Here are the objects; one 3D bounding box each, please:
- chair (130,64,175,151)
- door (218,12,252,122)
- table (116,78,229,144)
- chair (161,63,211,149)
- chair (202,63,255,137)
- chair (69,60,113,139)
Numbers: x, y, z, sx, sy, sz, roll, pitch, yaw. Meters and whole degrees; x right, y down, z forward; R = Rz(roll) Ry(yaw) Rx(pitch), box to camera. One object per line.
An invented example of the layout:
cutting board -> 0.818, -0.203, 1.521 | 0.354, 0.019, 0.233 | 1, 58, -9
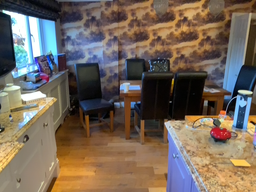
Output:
chair -> 0.320, 0.130, 3.180 | 0.470, 1.130, 0.690 | -1, 16, -7
door -> 2.130, -0.580, 4.330 | 0.080, 2.030, 0.880 | 3, 16, 8
table -> 0.610, 0.200, 3.530 | 1.590, 0.800, 0.960 | 0, 16, -2
chair -> 0.820, 0.120, 3.200 | 0.460, 1.130, 0.670 | 0, 16, -2
chair -> 1.680, 0.050, 3.510 | 0.610, 1.120, 0.450 | -1, 16, -6
chair -> -0.610, 0.010, 3.510 | 0.480, 1.130, 0.630 | -8, 18, -29
